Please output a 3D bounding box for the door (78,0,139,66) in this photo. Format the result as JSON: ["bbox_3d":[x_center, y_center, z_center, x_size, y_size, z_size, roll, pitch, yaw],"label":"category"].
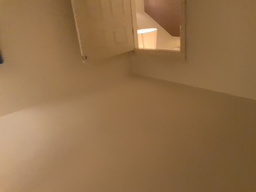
[{"bbox_3d":[-0.240,-1.410,2.230,0.770,2.050,0.060,-25,-151,-39],"label":"door"}]
